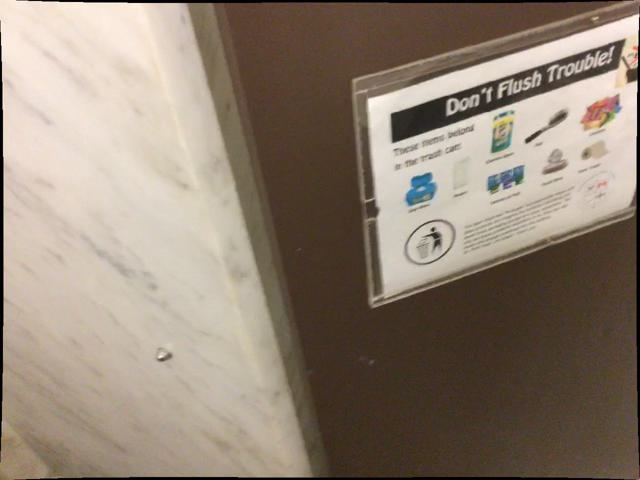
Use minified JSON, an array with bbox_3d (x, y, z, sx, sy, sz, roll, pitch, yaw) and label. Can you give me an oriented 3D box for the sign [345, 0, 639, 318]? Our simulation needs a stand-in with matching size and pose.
[{"bbox_3d":[0.190,-0.070,0.520,0.330,0.250,0.020,-17,41,-10],"label":"sign"}]
